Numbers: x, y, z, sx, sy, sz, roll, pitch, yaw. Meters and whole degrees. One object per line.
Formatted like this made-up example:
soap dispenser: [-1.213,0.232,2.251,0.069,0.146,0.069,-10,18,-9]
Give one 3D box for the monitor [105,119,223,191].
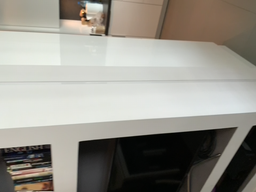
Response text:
monitor: [0.170,0.520,1.380,0.060,0.600,0.900,-114,29,-50]
